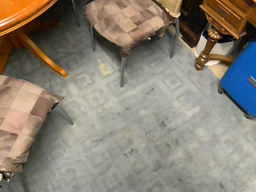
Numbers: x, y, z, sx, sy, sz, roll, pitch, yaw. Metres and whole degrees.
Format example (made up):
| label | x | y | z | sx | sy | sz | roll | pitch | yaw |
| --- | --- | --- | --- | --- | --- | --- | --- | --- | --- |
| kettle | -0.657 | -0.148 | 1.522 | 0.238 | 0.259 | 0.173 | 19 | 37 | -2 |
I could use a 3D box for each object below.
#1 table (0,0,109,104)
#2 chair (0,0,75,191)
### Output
| label | x | y | z | sx | sy | sz | roll | pitch | yaw |
| --- | --- | --- | --- | --- | --- | --- | --- | --- | --- |
| table | -0.840 | -0.660 | 1.440 | 1.030 | 0.780 | 0.960 | -28 | 66 | -14 |
| chair | -0.630 | 0.130 | 0.900 | 0.410 | 0.970 | 0.570 | 13 | 64 | 6 |
